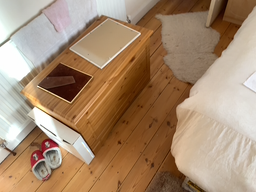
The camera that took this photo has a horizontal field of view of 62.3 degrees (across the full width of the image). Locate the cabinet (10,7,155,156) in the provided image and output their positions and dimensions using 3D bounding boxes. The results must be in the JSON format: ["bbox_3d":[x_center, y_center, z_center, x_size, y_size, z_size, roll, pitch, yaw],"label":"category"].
[{"bbox_3d":[-0.230,-0.120,1.520,0.500,0.520,0.810,27,63,22],"label":"cabinet"}]
